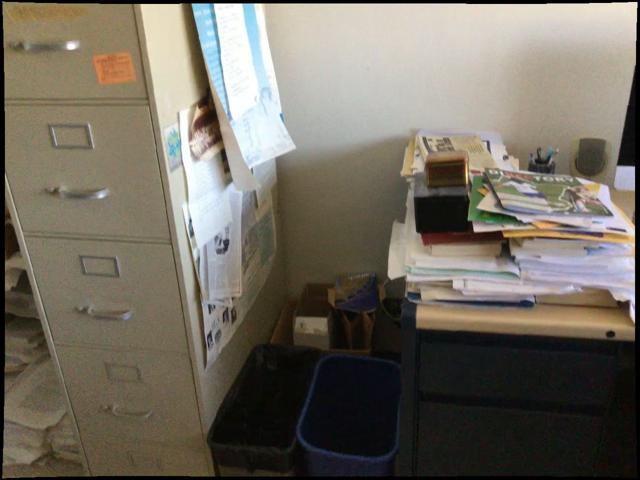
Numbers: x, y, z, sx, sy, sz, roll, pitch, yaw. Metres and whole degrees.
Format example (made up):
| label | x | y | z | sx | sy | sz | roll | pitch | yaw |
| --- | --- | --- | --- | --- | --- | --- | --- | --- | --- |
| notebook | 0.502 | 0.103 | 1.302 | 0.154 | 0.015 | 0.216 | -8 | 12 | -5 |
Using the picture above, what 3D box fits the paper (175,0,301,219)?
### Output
| label | x | y | z | sx | sy | sz | roll | pitch | yaw |
| --- | --- | --- | --- | --- | --- | --- | --- | --- | --- |
| paper | -0.180 | -0.461 | 1.480 | 0.130 | 0.631 | 0.580 | 2 | 25 | 9 |
